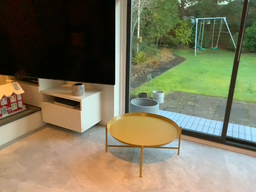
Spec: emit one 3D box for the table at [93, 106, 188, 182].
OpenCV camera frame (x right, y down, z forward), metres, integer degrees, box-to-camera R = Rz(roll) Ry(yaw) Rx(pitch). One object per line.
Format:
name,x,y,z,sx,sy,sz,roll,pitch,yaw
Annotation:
table,0.150,0.410,2.130,0.700,0.270,0.720,12,21,27

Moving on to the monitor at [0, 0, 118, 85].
monitor,-0.760,-0.590,2.200,1.320,0.840,0.080,6,19,12
